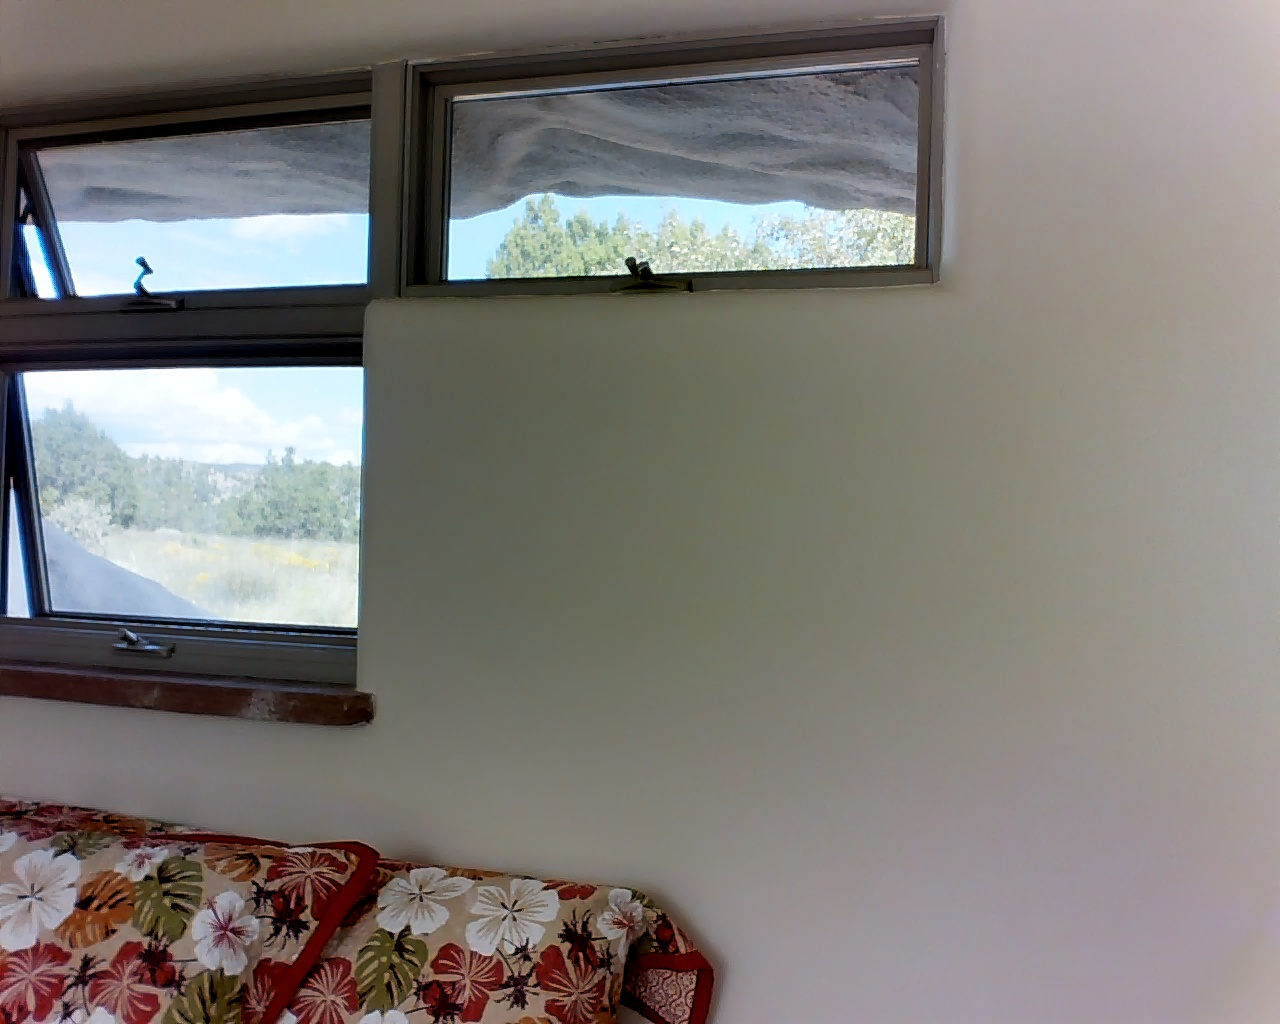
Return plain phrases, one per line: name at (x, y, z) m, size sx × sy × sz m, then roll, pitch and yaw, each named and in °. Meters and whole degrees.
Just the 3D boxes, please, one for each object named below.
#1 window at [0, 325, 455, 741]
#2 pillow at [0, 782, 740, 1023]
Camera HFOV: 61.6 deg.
window at (-0.850, 0.020, 1.920) m, size 1.030 × 0.660 × 0.170 m, roll 2°, pitch 0°, yaw 15°
pillow at (-0.960, 0.710, 1.690) m, size 2.189 × 0.450 × 0.330 m, roll 2°, pitch 0°, yaw 15°
